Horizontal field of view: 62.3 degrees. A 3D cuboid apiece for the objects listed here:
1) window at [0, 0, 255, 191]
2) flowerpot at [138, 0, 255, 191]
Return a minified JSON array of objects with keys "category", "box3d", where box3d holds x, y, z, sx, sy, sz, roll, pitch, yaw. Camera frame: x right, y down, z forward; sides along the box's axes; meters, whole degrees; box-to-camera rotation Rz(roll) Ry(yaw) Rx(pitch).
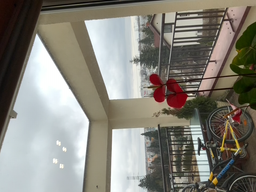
[{"category":"window","box3d":[0.160,-0.080,0.830,0.220,1.440,1.100,81,-173,-59]},{"category":"flowerpot","box3d":[0.490,-0.020,0.750,0.530,0.870,0.660,82,-174,-57]}]
